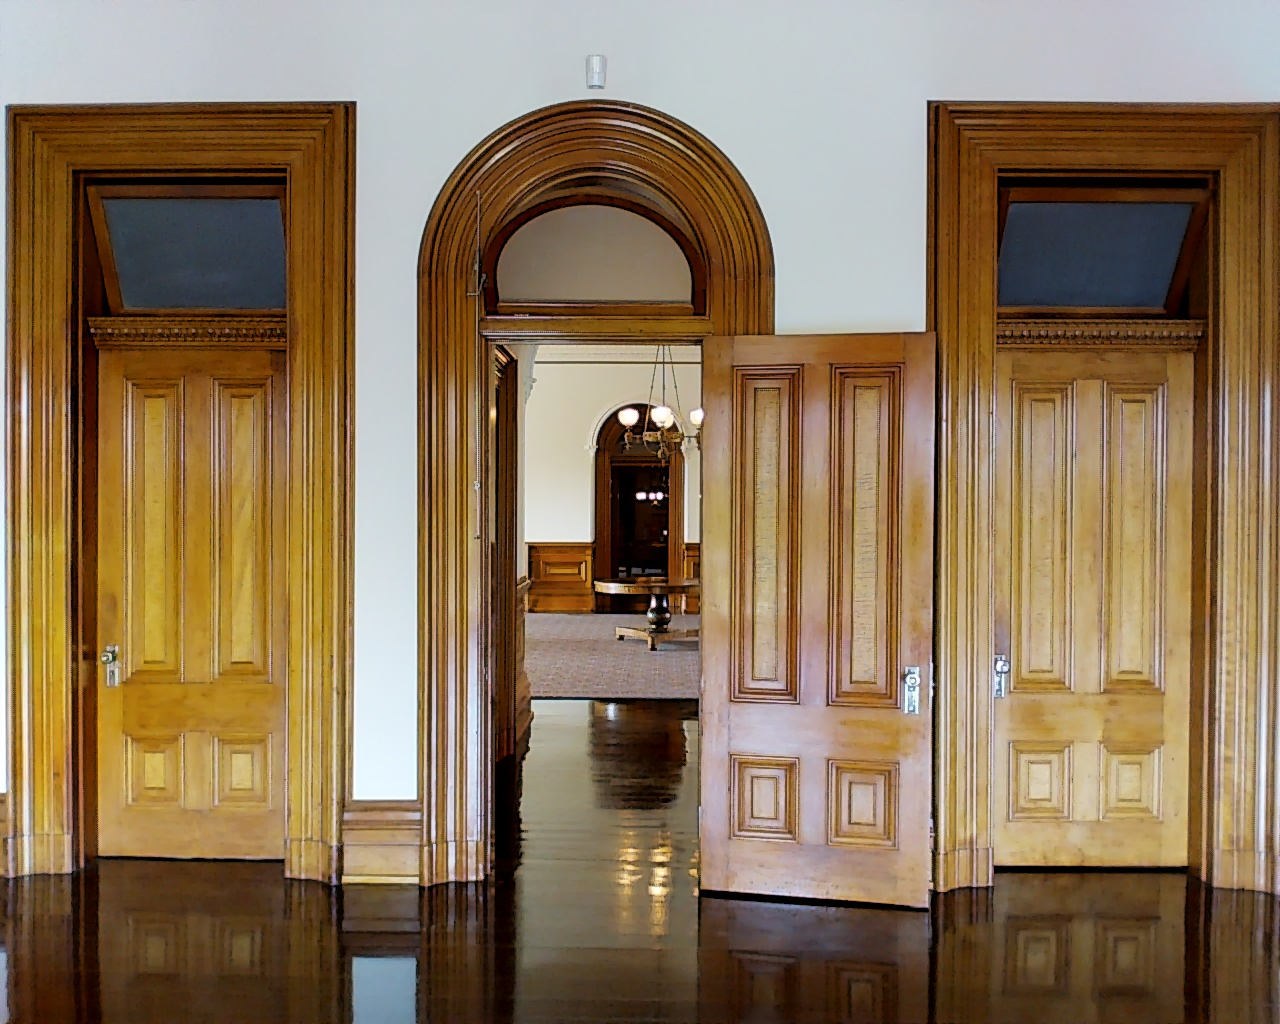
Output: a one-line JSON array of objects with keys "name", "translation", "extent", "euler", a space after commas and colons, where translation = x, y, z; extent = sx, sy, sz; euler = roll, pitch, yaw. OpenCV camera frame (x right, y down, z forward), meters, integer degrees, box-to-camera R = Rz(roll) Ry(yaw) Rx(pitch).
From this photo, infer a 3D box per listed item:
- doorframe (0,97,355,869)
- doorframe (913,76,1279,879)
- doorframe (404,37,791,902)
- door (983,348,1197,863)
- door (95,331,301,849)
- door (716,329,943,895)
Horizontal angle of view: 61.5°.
[{"name": "doorframe", "translation": [-1.970, -0.120, 4.620], "extent": [1.400, 3.190, 0.330], "euler": [0, 0, 1]}, {"name": "doorframe", "translation": [1.950, -0.140, 4.550], "extent": [1.510, 3.270, 0.310], "euler": [0, 0, 1]}, {"name": "doorframe", "translation": [-0.160, -0.160, 4.320], "extent": [1.470, 3.270, 0.480], "euler": [0, 0, 1]}, {"name": "door", "translation": [1.940, 0.400, 4.650], "extent": [0.880, 2.200, 0.100], "euler": [0, 0, 1]}, {"name": "door", "translation": [-1.950, 0.340, 4.750], "extent": [0.890, 2.270, 0.060], "euler": [0, 0, 1]}, {"name": "door", "translation": [0.750, 0.390, 4.310], "extent": [0.890, 2.210, 0.050], "euler": [0, 0, 11]}]
